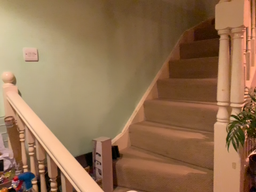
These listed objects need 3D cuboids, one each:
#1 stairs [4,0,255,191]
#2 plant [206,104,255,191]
[{"bbox_3d":[0.710,0.050,2.130,1.080,2.690,3.050,3,8,42],"label":"stairs"},{"bbox_3d":[0.830,0.380,1.410,0.460,0.580,0.390,3,8,43],"label":"plant"}]
